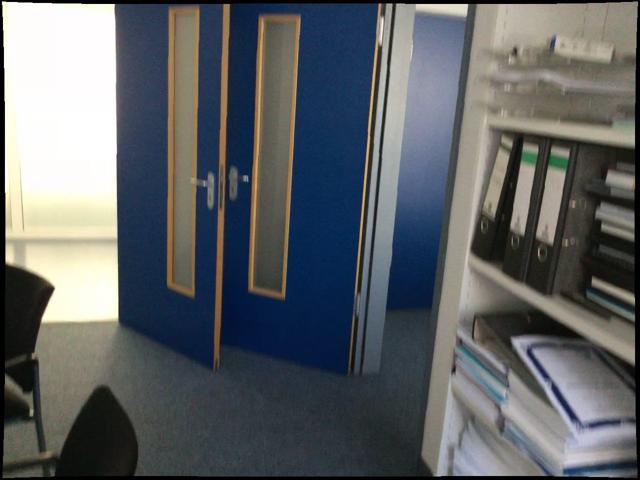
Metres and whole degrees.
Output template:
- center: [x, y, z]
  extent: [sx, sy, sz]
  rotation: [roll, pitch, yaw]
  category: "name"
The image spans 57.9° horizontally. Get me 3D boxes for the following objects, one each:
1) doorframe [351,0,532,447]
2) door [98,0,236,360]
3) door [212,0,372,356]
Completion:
- center: [0.470, -0.210, 2.640]
  extent: [0.270, 2.012, 0.890]
  rotation: [-1, 16, -15]
  category: "doorframe"
- center: [-0.859, -0.470, 3.250]
  extent: [0.840, 2.132, 0.250]
  rotation: [15, 20, 37]
  category: "door"
- center: [-0.140, -0.350, 3.170]
  extent: [0.819, 1.972, 0.140]
  rotation: [7, 19, 22]
  category: "door"
